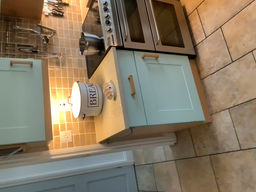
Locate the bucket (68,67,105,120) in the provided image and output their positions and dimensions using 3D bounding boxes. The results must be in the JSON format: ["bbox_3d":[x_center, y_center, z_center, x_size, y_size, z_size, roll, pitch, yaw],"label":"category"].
[{"bbox_3d":[-0.360,-0.010,1.780,0.280,0.200,0.360,-36,59,57],"label":"bucket"}]

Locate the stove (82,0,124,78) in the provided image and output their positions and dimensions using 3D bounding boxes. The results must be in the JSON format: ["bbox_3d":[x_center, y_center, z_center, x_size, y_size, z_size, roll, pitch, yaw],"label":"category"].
[{"bbox_3d":[-0.260,-0.570,1.920,0.630,0.100,0.610,-38,58,57],"label":"stove"}]

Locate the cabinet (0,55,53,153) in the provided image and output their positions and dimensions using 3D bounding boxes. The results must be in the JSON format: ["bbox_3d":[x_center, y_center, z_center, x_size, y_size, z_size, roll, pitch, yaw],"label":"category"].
[{"bbox_3d":[-0.970,0.070,1.460,0.350,0.790,0.610,-38,58,57],"label":"cabinet"}]
